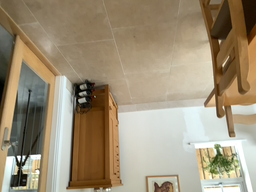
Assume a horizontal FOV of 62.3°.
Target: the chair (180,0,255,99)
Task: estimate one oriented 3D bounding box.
[{"bbox_3d":[0.600,-0.500,1.250,0.430,0.880,0.490,-6,158,6],"label":"chair"}]
